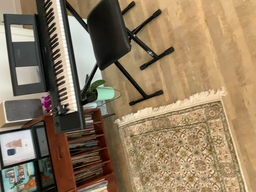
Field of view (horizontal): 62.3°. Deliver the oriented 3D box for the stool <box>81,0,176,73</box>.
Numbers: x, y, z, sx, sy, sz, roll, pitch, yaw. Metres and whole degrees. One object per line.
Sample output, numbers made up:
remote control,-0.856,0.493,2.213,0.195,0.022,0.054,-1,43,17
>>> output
stool,0.010,-0.390,1.460,0.330,0.490,0.360,-24,77,43
